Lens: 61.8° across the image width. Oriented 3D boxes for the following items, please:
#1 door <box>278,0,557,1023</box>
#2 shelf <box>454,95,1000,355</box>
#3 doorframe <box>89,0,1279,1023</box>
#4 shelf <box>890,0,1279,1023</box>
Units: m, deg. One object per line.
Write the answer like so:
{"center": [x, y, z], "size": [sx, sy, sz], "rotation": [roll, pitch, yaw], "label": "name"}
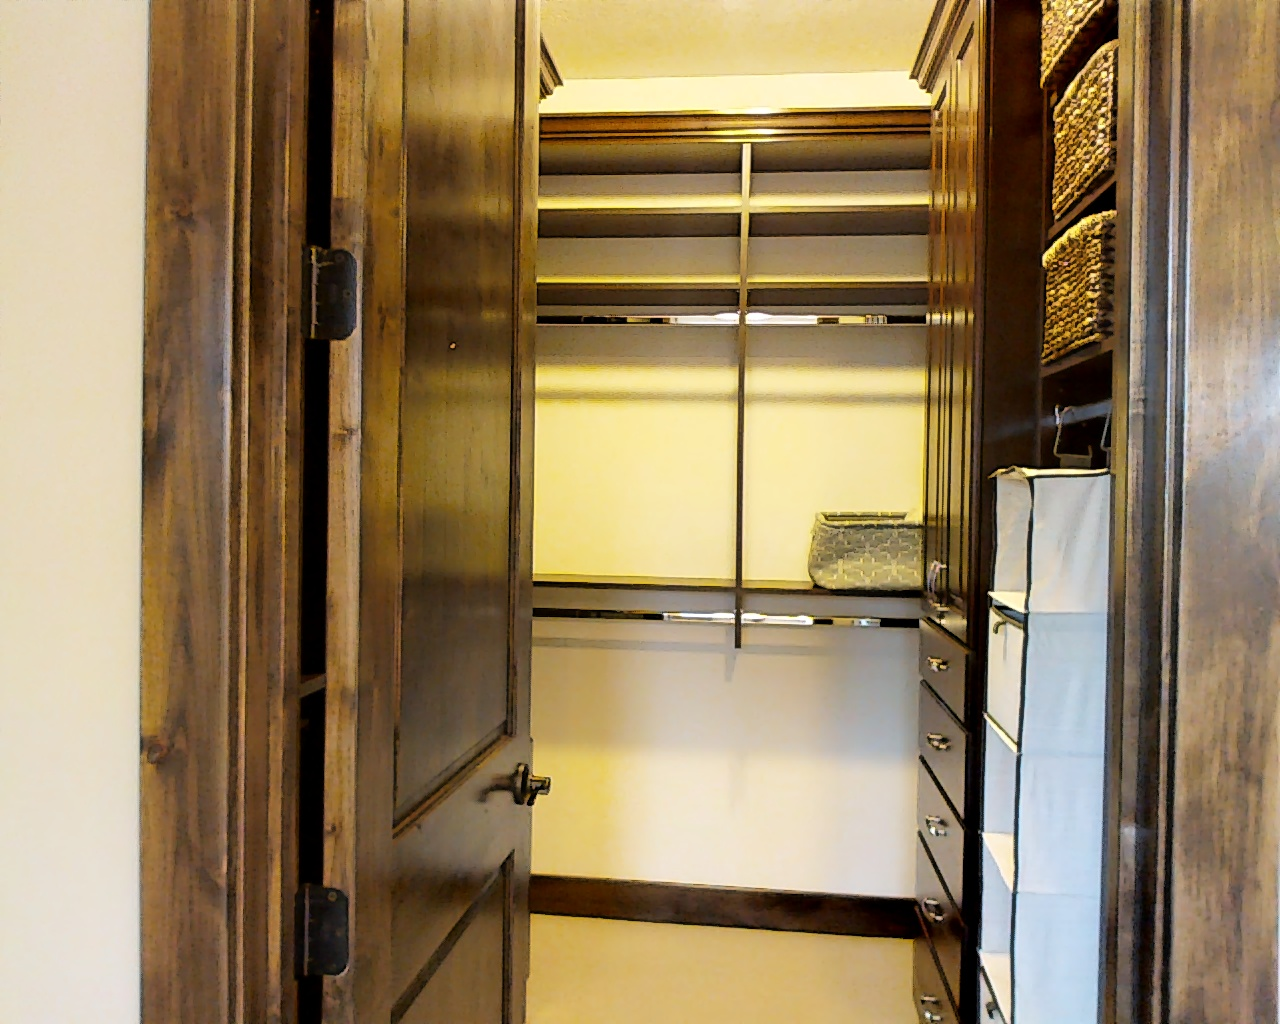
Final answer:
{"center": [-0.240, 0.140, 1.380], "size": [0.070, 2.440, 0.830], "rotation": [1, 1, 7], "label": "door"}
{"center": [0.250, -0.840, 3.260], "size": [1.540, 0.660, 0.420], "rotation": [1, 1, 6], "label": "shelf"}
{"center": [0.040, 0.070, 0.940], "size": [0.980, 2.580, 0.190], "rotation": [1, 1, 6], "label": "doorframe"}
{"center": [0.770, 0.080, 1.660], "size": [0.520, 2.470, 1.510], "rotation": [1, 1, 6], "label": "shelf"}
